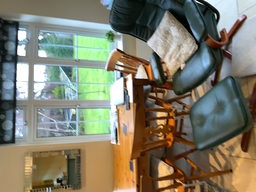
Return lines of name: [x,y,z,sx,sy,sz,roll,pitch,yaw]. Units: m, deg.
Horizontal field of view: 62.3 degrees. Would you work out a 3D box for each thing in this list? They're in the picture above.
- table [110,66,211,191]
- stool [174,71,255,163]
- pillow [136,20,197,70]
table: [0.290,0.580,2.390,0.820,0.730,1.590,147,122,-66]
stool: [0.730,0.180,1.570,0.600,0.440,0.430,120,145,-54]
pillow: [0.340,-0.420,1.850,0.410,0.460,0.120,30,-140,-74]
